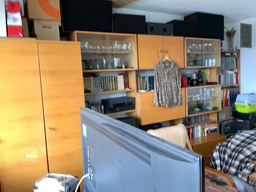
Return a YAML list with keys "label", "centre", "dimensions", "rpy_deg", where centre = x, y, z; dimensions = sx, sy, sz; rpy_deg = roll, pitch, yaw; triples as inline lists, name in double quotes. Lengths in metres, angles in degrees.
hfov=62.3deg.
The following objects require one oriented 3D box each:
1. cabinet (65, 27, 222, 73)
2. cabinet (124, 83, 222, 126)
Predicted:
- label: "cabinet"
  centre: [0.400, -0.630, 3.100]
  dimensions: [2.480, 0.480, 0.390]
  rpy_deg: [-6, 6, -30]
- label: "cabinet"
  centre: [0.780, 0.080, 3.370]
  dimensions: [1.690, 0.480, 0.390]
  rpy_deg: [-6, 6, -30]
